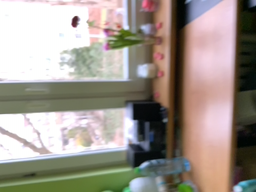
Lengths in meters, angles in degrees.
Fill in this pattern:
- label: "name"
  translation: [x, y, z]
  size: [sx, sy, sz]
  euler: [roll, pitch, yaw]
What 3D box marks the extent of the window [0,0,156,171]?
- label: "window"
  translation: [-0.630, -0.200, 1.410]
  size: [0.160, 1.710, 1.320]
  euler: [-165, 73, -72]
